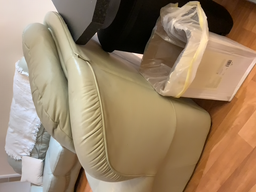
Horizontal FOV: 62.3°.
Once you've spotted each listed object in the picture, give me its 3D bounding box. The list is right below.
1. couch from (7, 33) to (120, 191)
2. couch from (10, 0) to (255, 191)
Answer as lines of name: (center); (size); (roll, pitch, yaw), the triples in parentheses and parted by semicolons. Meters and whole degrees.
couch: (-1.020, 0.450, 2.780); (1.160, 0.870, 2.040); (56, 132, 46)
couch: (-0.150, 0.120, 1.330); (1.110, 0.960, 1.150); (53, 131, 47)
